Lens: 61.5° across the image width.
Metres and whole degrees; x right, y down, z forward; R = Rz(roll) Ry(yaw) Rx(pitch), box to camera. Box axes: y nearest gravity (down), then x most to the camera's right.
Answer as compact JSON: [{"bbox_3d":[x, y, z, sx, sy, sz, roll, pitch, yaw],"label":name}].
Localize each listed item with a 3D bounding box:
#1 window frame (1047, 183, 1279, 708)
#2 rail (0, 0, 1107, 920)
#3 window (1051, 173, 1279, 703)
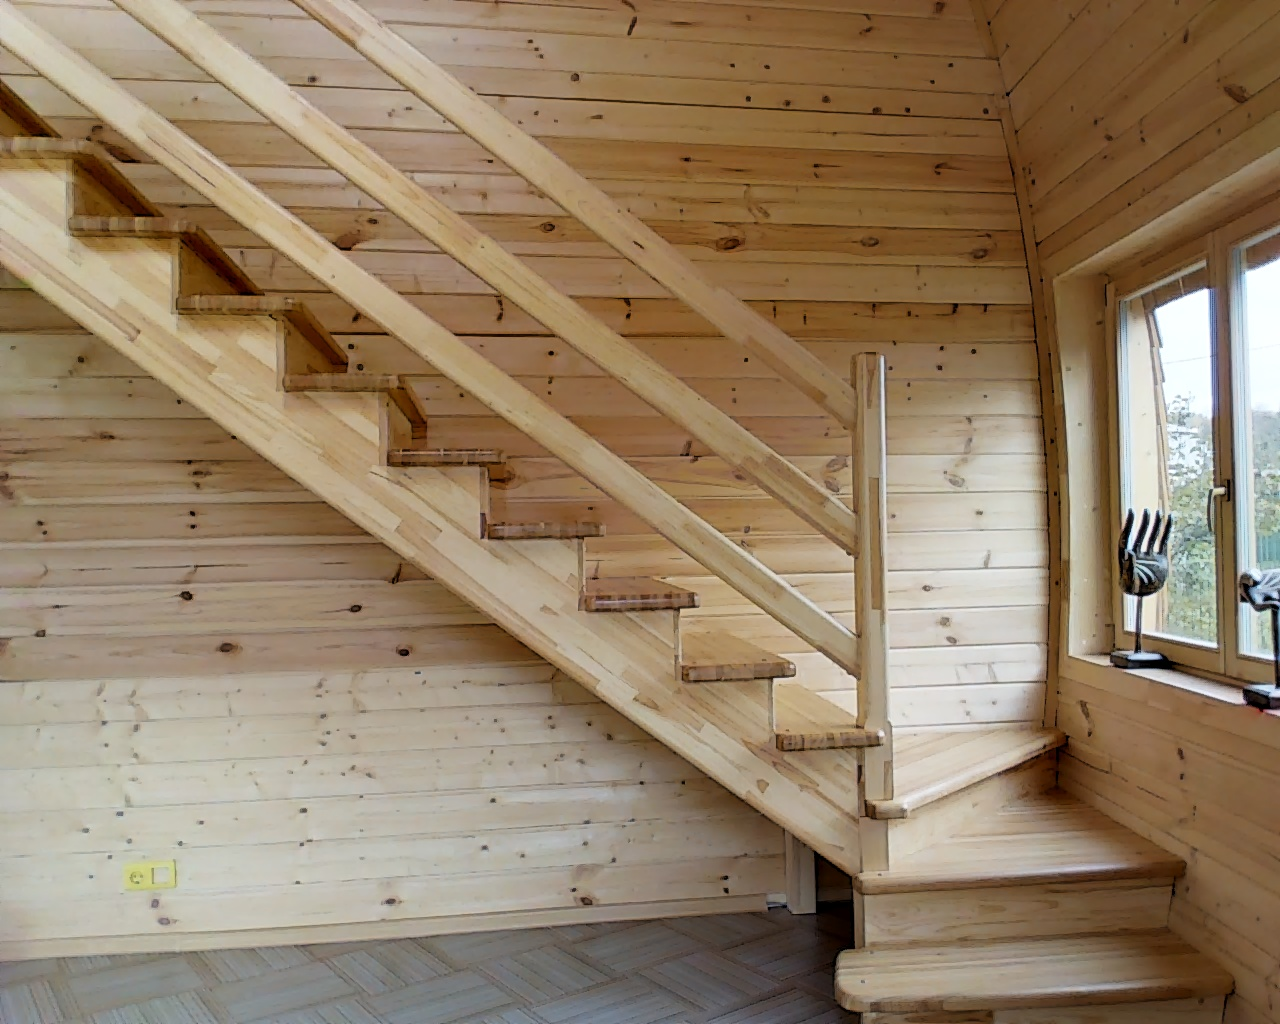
[{"bbox_3d":[1.669,-0.160,3.100,0.210,1.330,1.450,-1,-1,-9],"label":"window frame"},{"bbox_3d":[-0.850,-0.720,2.770,4.430,1.230,0.230,36,-6,-7],"label":"rail"},{"bbox_3d":[1.639,-0.180,3.090,0.150,1.340,1.410,-1,-1,-9],"label":"window"}]
